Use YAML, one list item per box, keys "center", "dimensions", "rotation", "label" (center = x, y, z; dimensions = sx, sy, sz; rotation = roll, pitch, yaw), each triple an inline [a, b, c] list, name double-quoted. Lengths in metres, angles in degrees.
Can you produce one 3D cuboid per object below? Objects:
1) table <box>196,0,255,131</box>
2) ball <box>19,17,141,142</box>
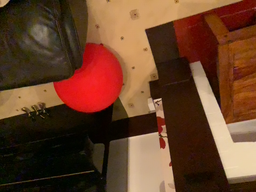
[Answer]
- center: [1.050, -0.260, 1.220]
  dimensions: [1.130, 0.400, 0.670]
  rotation: [-13, 133, 13]
  label: "table"
- center: [-0.250, -0.080, 1.370]
  dimensions: [0.460, 0.430, 0.540]
  rotation: [-21, 131, 19]
  label: "ball"
